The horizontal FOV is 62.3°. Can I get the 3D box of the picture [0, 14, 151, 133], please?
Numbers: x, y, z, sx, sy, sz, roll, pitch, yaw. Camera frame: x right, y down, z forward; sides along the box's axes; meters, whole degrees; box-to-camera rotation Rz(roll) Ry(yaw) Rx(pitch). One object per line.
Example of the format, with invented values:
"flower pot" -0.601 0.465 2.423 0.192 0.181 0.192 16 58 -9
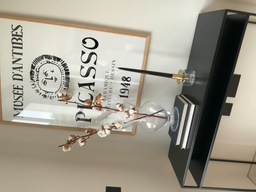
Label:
"picture" -0.310 -0.100 1.210 0.030 0.800 0.590 -105 22 -75
